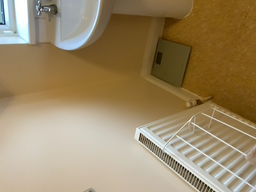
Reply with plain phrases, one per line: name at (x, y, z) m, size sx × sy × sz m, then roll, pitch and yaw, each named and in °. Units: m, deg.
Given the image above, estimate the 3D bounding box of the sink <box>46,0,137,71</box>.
sink at (-0.180, -0.450, 0.930) m, size 0.450 × 0.190 × 0.540 m, roll 33°, pitch 124°, yaw 40°
